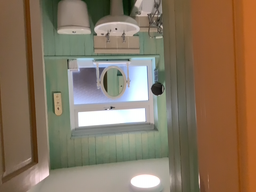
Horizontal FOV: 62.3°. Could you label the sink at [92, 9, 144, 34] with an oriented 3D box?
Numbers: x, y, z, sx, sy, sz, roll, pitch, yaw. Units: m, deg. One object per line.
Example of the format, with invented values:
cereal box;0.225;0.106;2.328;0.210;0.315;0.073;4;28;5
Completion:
sink;-0.140;-0.870;2.520;0.560;0.150;0.450;-4;-178;-11
